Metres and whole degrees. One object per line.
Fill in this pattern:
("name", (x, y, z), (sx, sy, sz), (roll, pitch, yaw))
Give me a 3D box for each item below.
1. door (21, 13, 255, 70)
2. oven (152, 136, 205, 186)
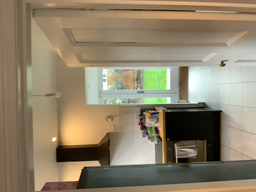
("door", (0.510, -0.280, 1.350), (0.780, 1.980, 0.040), (127, 142, -81))
("oven", (0.780, 1.000, 3.400), (0.610, 0.660, 0.600), (179, 90, -84))
